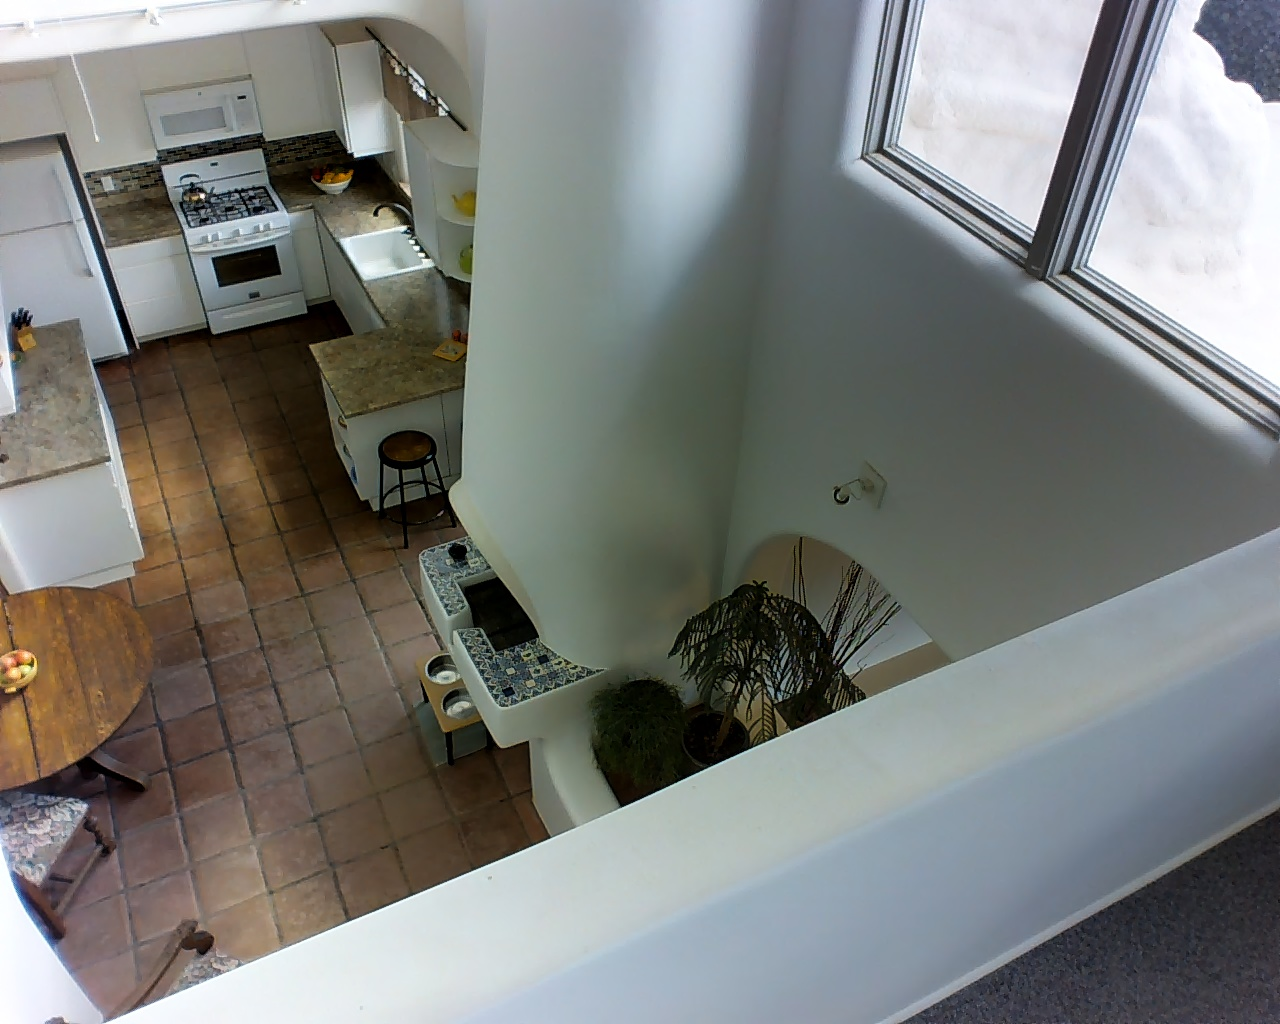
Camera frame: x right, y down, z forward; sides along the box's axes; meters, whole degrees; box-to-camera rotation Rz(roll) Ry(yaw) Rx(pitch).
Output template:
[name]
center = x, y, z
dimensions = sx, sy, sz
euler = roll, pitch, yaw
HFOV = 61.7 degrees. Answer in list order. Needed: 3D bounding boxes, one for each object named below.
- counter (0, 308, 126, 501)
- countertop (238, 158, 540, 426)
[counter]
center = -3.519, -0.690, 6.350
dimensions = 0.650, 0.150, 1.600
euler = -18, 45, -20
[countertop]
center = -1.899, -1.720, 7.580
dimensions = 1.170, 0.080, 3.370
euler = -18, 45, -20
